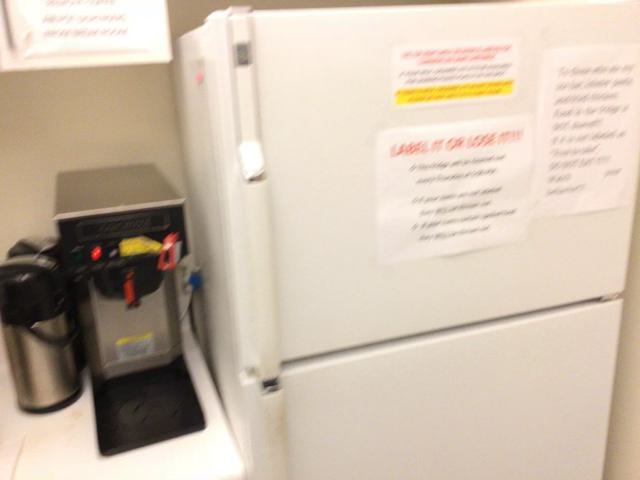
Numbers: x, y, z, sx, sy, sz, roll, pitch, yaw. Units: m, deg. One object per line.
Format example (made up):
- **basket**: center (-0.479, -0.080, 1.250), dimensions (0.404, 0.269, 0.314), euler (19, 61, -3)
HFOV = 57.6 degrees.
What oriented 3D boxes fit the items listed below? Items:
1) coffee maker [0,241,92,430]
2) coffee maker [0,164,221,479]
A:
- **coffee maker**: center (-0.630, 0.200, 1.250), dimensions (0.200, 0.340, 0.150), euler (-10, 19, -17)
- **coffee maker**: center (-0.420, 0.130, 1.220), dimensions (0.290, 0.480, 0.420), euler (-10, 19, -17)
